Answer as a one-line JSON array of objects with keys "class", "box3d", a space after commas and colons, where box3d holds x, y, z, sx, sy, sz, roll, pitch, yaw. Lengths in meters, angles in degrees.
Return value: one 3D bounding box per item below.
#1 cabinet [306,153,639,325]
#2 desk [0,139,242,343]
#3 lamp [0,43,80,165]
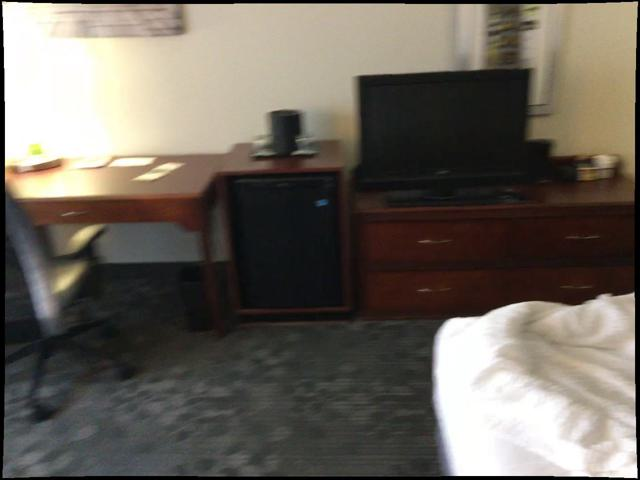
[{"class": "cabinet", "box3d": [0.829, -0.020, 2.960, 1.768, 0.721, 0.500, 1, 24, 2]}, {"class": "desk", "box3d": [-1.039, -0.040, 2.990, 1.109, 0.771, 0.840, 1, 24, 2]}, {"class": "lamp", "box3d": [-1.538, -0.701, 2.950, 0.380, 0.540, 0.400, 1, 24, 2]}]
